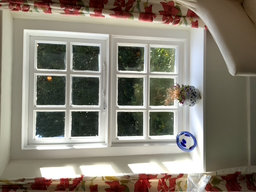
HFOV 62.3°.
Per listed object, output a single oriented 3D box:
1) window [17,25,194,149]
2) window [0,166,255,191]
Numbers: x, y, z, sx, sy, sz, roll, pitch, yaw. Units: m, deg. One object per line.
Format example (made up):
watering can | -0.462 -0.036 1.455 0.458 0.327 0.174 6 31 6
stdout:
window | -0.140 -0.050 1.670 0.280 1.260 0.830 -179 91 -80
window | 0.030 0.630 1.330 0.170 1.870 0.250 -176 87 -80
